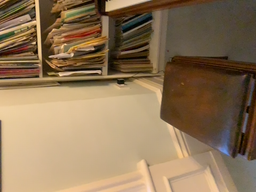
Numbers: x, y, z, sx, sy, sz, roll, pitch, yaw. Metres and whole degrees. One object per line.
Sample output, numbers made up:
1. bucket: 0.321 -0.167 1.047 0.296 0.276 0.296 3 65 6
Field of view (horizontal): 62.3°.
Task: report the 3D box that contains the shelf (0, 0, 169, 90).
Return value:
1. shelf: -0.680 -0.520 1.580 0.440 2.050 0.830 31 122 58
